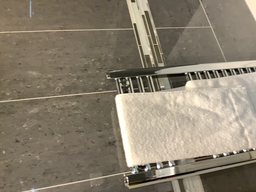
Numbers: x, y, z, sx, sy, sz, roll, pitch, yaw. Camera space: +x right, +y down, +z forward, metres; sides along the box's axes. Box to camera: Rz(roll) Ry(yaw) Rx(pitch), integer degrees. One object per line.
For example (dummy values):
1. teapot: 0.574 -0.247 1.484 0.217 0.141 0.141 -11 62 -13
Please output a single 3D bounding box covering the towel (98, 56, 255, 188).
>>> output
1. towel: 0.330 0.050 0.760 0.110 0.820 0.360 116 146 -63
